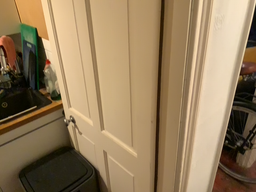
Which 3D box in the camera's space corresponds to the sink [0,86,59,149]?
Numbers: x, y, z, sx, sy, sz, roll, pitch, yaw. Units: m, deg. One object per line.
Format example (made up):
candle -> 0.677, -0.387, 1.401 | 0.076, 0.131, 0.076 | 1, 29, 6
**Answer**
sink -> -0.790, 0.130, 1.480 | 0.440, 0.150, 0.390 | -27, 38, -35
